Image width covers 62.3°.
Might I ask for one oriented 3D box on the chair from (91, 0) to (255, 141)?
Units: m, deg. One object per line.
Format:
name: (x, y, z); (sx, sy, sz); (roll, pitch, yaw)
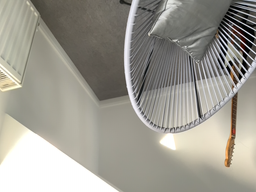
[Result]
chair: (0.290, -0.350, 1.020); (0.710, 0.810, 0.800); (11, 143, -24)
